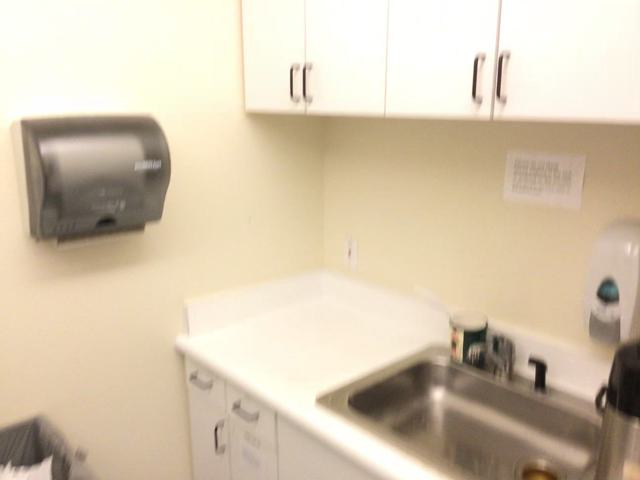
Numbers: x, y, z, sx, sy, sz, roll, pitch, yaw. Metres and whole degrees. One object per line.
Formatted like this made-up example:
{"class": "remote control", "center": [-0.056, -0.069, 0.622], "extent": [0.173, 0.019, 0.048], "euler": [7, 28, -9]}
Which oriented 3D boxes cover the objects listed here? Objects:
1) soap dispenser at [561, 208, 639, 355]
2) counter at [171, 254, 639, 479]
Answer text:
{"class": "soap dispenser", "center": [0.690, 0.090, 1.370], "extent": [0.110, 0.300, 0.170], "euler": [-10, 17, -40]}
{"class": "counter", "center": [0.380, 0.380, 1.380], "extent": [0.670, 0.260, 1.800], "euler": [-10, 17, -40]}
